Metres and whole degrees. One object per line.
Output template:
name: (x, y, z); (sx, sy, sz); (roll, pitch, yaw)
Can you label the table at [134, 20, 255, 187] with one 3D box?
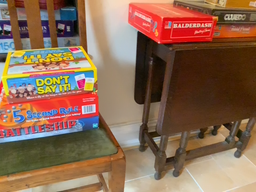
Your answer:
table: (0.450, 0.010, 1.130); (0.690, 0.720, 0.370); (-7, 32, -19)
